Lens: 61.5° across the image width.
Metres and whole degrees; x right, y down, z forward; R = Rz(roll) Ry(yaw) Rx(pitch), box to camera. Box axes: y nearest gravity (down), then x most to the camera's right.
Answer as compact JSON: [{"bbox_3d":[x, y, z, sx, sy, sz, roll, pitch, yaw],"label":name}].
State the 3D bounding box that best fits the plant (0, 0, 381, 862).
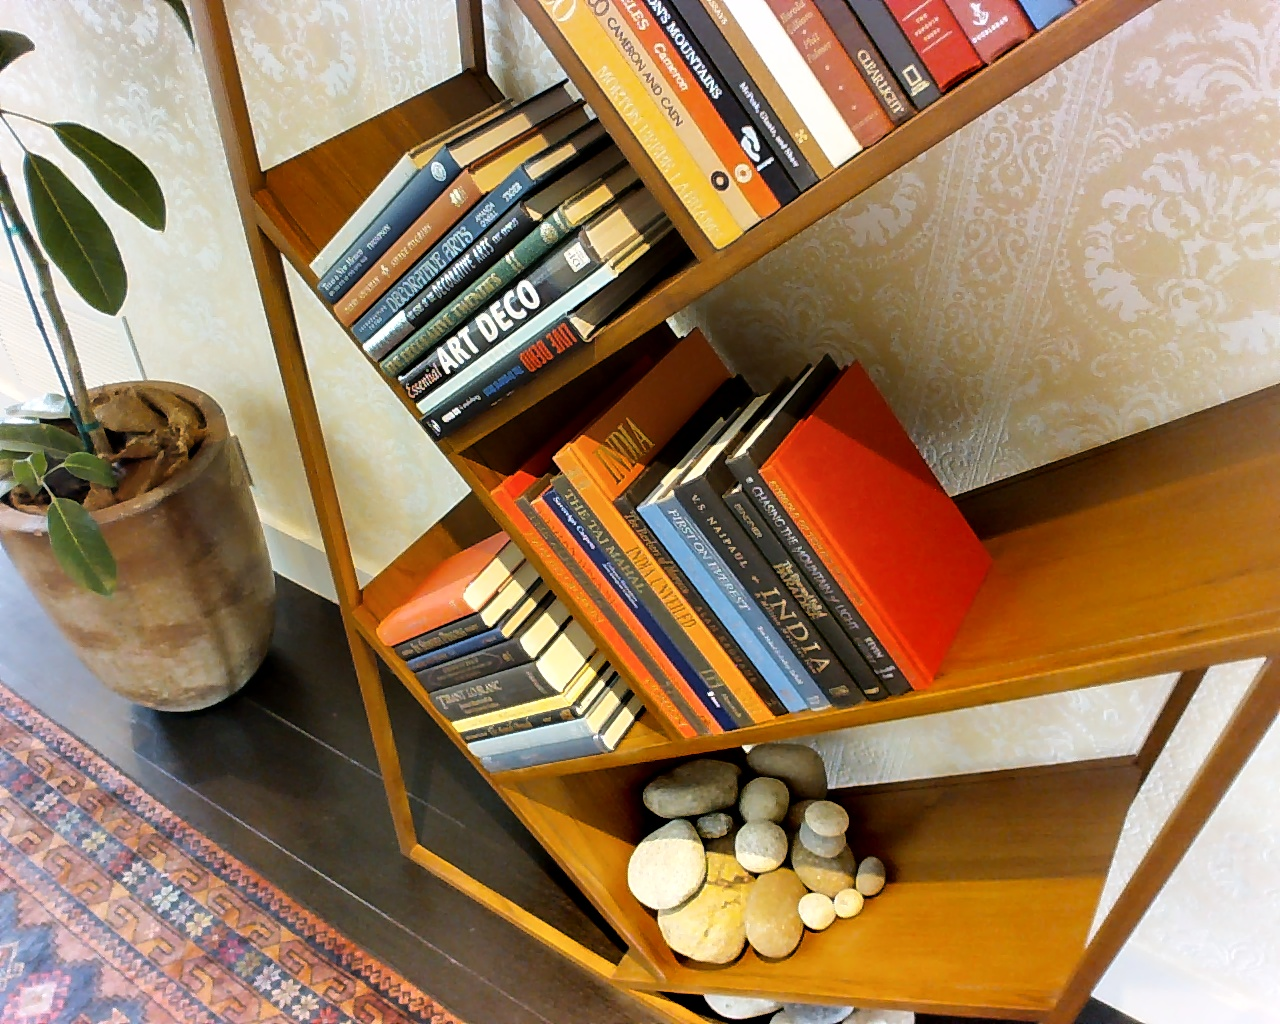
[{"bbox_3d":[-0.940,-0.360,1.440,0.690,1.660,0.600,22,47,22],"label":"plant"}]
